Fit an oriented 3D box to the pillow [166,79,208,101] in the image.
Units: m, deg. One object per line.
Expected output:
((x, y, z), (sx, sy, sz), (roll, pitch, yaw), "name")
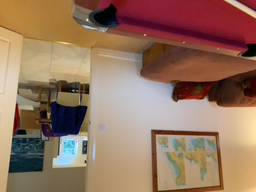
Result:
((0.840, -0.080, 3.050), (0.490, 0.240, 0.300), (2, 168, -13), "pillow")

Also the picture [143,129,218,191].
((0.750, 0.900, 2.950), (1.140, 0.840, 0.110), (5, 167, -24), "picture")
